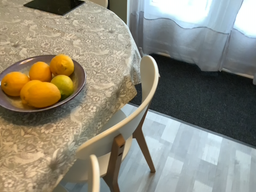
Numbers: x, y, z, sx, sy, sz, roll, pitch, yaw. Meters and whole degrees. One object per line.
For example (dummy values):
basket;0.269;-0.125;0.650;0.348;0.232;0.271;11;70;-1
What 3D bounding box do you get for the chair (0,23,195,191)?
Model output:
chair;-0.130;0.200;0.960;0.560;0.790;0.450;21;47;18
